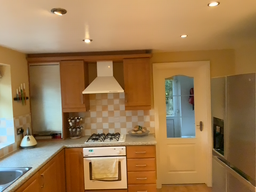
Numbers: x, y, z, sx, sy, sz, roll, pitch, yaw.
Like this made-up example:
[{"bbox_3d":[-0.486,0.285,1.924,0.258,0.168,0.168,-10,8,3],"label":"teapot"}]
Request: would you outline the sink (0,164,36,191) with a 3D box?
[{"bbox_3d":[-1.210,0.800,1.950,0.530,0.180,0.450,-2,2,0],"label":"sink"}]
